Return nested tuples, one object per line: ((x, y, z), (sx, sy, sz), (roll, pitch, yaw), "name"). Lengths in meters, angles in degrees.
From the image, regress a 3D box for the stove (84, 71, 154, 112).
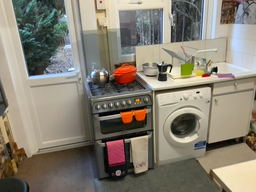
((-0.130, -0.080, 2.210), (0.580, 0.140, 0.690), (-8, 22, -13), "stove")
